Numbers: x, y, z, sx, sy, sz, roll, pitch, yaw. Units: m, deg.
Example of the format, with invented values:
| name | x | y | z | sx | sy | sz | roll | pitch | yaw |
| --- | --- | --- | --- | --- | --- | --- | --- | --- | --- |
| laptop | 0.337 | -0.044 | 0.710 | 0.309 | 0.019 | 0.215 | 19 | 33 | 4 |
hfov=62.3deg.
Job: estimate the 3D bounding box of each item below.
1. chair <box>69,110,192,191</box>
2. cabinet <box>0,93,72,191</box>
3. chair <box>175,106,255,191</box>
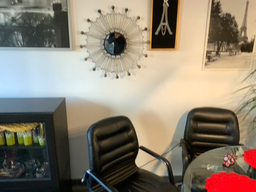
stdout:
| name | x | y | z | sx | sy | sz | roll | pitch | yaw |
| --- | --- | --- | --- | --- | --- | --- | --- | --- | --- |
| chair | 0.000 | 0.690 | 1.660 | 0.580 | 0.910 | 0.680 | -14 | 22 | -42 |
| cabinet | -1.490 | 0.540 | 1.870 | 1.820 | 1.040 | 0.510 | 0 | 16 | -4 |
| chair | 0.760 | 0.640 | 1.920 | 0.530 | 0.900 | 0.680 | 3 | 16 | 8 |
